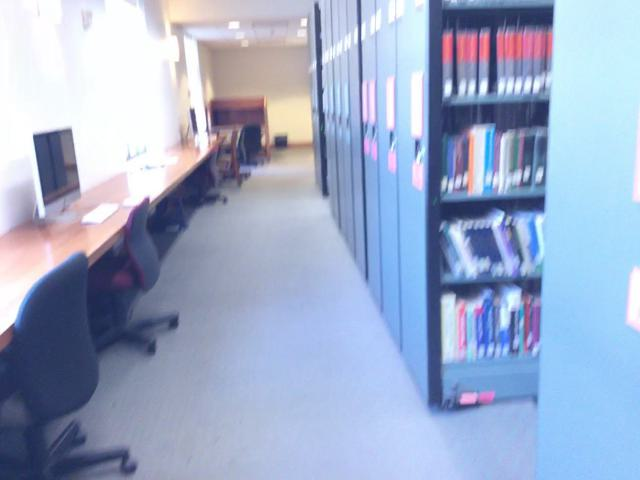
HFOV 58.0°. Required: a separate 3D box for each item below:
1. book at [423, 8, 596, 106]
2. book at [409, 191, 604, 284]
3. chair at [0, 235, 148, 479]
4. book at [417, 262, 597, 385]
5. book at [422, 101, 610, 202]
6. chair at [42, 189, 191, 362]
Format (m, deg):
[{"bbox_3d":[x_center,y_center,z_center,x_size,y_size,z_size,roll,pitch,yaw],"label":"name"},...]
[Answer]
[{"bbox_3d":[0.710,-0.690,2.200,0.610,0.330,0.130,-2,9,-3],"label":"book"},{"bbox_3d":[0.770,-0.030,2.500,0.680,0.320,0.450,-2,9,-3],"label":"book"},{"bbox_3d":[-1.040,0.490,2.090,0.620,0.920,0.590,-2,9,-3],"label":"chair"},{"bbox_3d":[0.800,0.350,2.590,0.630,0.400,0.480,-2,9,-3],"label":"book"},{"bbox_3d":[0.770,-0.360,2.360,0.640,0.360,0.340,-2,9,-3],"label":"book"},{"bbox_3d":[-1.160,0.170,3.440,0.610,0.890,0.670,-2,9,-3],"label":"chair"}]
